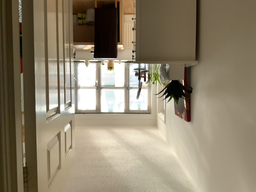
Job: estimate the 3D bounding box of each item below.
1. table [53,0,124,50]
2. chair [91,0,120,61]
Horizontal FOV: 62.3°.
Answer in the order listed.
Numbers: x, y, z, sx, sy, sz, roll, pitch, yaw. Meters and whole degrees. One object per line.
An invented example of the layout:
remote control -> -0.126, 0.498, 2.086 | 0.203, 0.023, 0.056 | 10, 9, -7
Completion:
table -> -0.700, -1.320, 4.060 | 1.240, 0.750, 0.650 | 0, -177, 1
chair -> -0.390, -1.180, 3.870 | 0.440, 1.000, 0.610 | 0, -177, 2
